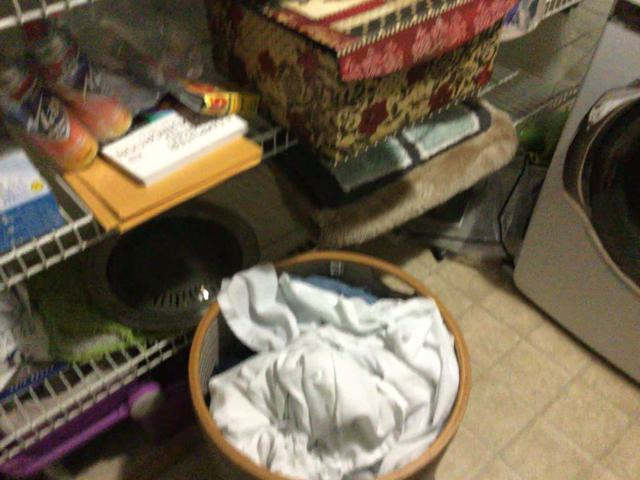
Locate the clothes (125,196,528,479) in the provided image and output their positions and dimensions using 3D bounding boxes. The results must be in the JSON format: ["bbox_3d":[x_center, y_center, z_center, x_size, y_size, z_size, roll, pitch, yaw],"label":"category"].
[{"bbox_3d":[0.000,0.210,0.960,0.420,0.210,0.460,-31,52,-27],"label":"clothes"}]
